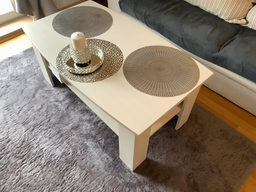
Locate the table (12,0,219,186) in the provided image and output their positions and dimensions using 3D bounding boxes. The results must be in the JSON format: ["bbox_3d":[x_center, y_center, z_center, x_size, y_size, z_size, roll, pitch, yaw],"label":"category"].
[{"bbox_3d":[-0.130,-0.120,1.430,0.640,0.490,1.110,-35,59,-27],"label":"table"}]
